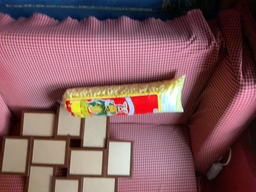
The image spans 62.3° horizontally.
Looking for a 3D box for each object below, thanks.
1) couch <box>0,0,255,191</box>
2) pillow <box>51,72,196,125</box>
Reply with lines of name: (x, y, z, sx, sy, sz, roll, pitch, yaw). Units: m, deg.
couch: (-0.160, 0.120, 1.230, 1.430, 0.790, 1.030, 1, 139, -3)
pillow: (-0.020, 0.020, 1.070, 0.640, 0.130, 0.250, 0, 139, -2)
